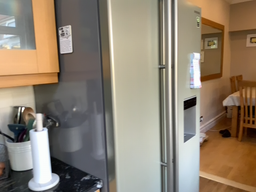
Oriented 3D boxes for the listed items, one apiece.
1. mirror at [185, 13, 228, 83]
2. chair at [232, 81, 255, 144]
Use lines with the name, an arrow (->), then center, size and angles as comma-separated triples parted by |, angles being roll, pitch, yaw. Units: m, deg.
mirror -> 1.600, -0.910, 4.220 | 0.310, 1.160, 1.430 | 6, 12, 39
chair -> 2.110, 0.260, 3.660 | 0.440, 0.980, 0.490 | 5, 12, 36
